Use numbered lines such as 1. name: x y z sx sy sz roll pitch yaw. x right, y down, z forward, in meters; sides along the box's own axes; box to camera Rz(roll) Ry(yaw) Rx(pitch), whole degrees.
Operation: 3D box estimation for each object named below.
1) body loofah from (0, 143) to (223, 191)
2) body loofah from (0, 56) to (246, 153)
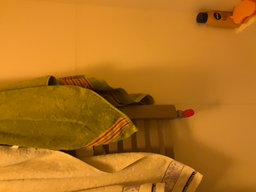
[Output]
1. body loofah: -0.110 0.280 0.680 0.220 0.770 0.220 139 131 -74
2. body loofah: -0.190 0.040 0.690 0.240 1.090 0.250 140 129 -74
